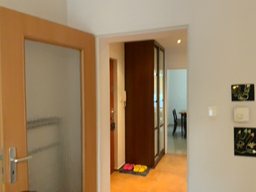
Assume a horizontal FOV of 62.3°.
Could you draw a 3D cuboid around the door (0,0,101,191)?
[{"bbox_3d":[-0.530,0.550,1.640,0.120,2.320,0.840,1,2,33],"label":"door"}]
